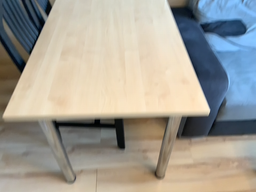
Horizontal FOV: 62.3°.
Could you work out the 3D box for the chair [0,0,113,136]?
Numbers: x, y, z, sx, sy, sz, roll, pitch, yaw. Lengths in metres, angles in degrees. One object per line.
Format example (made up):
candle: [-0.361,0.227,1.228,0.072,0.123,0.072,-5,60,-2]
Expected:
chair: [-0.370,-0.190,1.350,0.510,0.940,0.410,-3,47,-4]
